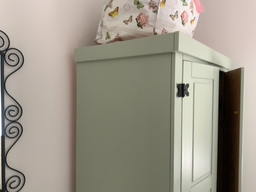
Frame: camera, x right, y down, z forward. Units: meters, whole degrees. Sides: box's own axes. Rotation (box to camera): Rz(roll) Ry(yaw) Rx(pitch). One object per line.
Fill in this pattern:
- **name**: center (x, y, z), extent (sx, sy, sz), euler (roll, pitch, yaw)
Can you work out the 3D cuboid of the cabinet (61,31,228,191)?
- **cabinet**: center (0.170, 0.670, 1.310), extent (0.650, 1.820, 0.910), euler (2, 2, 33)
